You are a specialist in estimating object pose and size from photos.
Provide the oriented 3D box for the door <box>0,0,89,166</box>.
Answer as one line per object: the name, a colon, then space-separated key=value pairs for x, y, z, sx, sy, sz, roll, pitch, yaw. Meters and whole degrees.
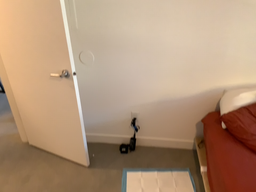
door: x=-0.780 y=-0.340 z=1.630 sx=0.870 sy=2.000 sz=0.040 roll=13 pitch=32 yaw=24
